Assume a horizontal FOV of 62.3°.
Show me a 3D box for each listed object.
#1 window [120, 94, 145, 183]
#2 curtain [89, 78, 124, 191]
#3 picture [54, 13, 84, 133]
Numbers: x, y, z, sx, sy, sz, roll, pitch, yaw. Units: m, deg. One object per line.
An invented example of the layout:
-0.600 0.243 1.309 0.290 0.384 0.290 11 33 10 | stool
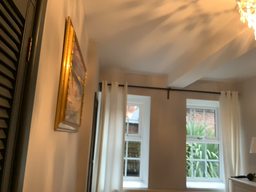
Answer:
0.090 0.740 3.830 0.390 1.550 0.110 3 -10 -4 | window
-0.330 0.860 3.130 0.420 2.250 0.150 4 -10 -9 | curtain
-0.390 -0.060 1.530 0.040 0.640 0.890 4 -10 -7 | picture
